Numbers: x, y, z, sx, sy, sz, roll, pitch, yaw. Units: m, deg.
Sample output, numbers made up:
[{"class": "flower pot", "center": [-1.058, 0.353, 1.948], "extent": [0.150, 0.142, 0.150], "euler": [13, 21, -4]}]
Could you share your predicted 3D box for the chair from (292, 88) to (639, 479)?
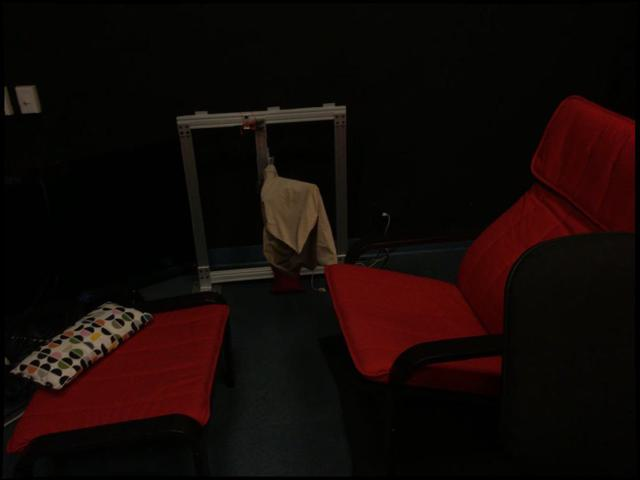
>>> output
[{"class": "chair", "center": [0.449, 0.150, 1.780], "extent": [0.928, 1.022, 0.760], "euler": [-6, 26, -9]}]

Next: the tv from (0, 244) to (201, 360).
[{"class": "tv", "center": [-1.067, 0.261, 2.620], "extent": [0.968, 0.160, 0.640], "euler": [-4, 26, -5]}]

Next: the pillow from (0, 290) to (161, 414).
[{"class": "pillow", "center": [-0.768, 0.331, 1.810], "extent": [0.339, 0.110, 0.390], "euler": [10, 28, 22]}]
